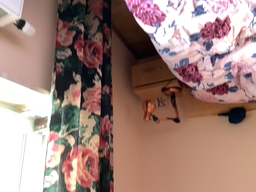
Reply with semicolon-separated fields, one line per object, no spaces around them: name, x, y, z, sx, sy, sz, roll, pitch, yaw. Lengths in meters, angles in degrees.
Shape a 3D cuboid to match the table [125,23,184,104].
table;0.260;-0.290;2.070;0.430;0.590;0.390;-11;158;23
